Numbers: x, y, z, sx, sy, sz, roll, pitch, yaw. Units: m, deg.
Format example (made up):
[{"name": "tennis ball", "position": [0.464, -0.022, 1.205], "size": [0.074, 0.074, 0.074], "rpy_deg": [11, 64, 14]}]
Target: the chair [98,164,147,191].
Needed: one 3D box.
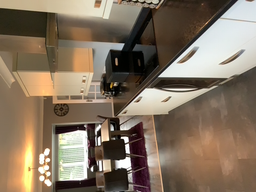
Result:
[{"name": "chair", "position": [-0.130, 1.730, 4.540], "size": [0.510, 0.910, 0.440], "rpy_deg": [131, 135, -66]}]

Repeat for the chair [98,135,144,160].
[{"name": "chair", "position": [-0.180, 1.140, 4.690], "size": [0.510, 0.890, 0.440], "rpy_deg": [131, 135, -66]}]
